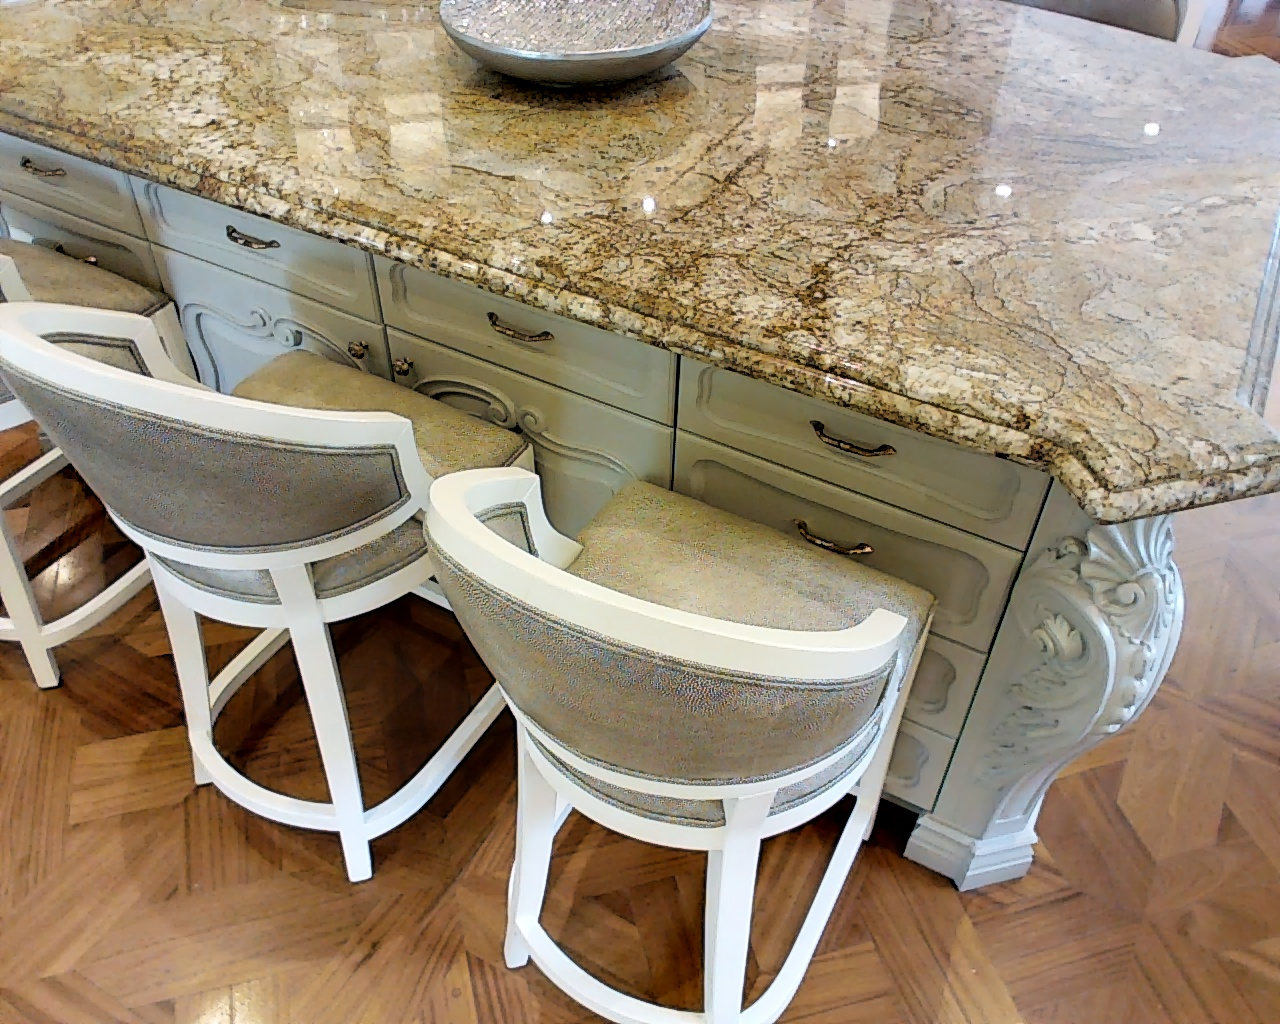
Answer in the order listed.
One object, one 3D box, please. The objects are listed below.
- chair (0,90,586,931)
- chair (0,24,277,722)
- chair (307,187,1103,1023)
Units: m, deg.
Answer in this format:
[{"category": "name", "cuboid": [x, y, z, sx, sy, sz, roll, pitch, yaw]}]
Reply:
[{"category": "chair", "cuboid": [-0.490, 0.020, 1.690, 0.540, 1.050, 0.620, 22, 46, 22]}, {"category": "chair", "cuboid": [-1.180, -0.250, 1.960, 0.520, 1.030, 0.600, 22, 46, 22]}, {"category": "chair", "cuboid": [0.100, 0.250, 1.460, 0.570, 1.050, 0.670, 22, 46, 22]}]
